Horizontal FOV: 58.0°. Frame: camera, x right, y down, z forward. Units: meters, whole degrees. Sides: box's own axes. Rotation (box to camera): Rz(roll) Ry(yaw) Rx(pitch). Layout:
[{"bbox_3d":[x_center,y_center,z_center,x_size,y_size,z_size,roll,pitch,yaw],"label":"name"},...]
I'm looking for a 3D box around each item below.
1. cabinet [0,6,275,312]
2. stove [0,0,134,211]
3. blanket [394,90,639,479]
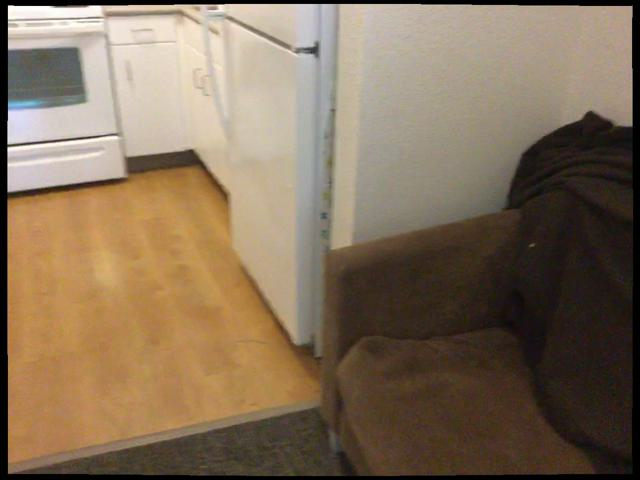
[{"bbox_3d":[-1.188,-0.451,2.620,1.628,0.901,1.190,-12,33,-21],"label":"cabinet"},{"bbox_3d":[-1.567,-0.922,3.140,0.739,1.192,0.800,-14,34,-20],"label":"stove"},{"bbox_3d":[0.759,0.160,1.180,0.559,0.521,1.360,-12,33,-21],"label":"blanket"}]
